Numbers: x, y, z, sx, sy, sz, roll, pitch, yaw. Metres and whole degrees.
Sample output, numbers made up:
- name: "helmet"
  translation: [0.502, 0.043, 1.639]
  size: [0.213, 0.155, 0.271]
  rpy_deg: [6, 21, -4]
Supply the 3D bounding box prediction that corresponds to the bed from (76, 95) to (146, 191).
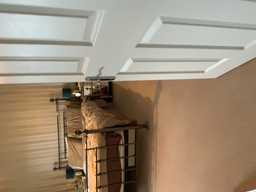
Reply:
- name: "bed"
  translation: [-0.440, 0.940, 3.800]
  size: [2.140, 0.670, 1.550]
  rpy_deg: [-154, 63, -68]
